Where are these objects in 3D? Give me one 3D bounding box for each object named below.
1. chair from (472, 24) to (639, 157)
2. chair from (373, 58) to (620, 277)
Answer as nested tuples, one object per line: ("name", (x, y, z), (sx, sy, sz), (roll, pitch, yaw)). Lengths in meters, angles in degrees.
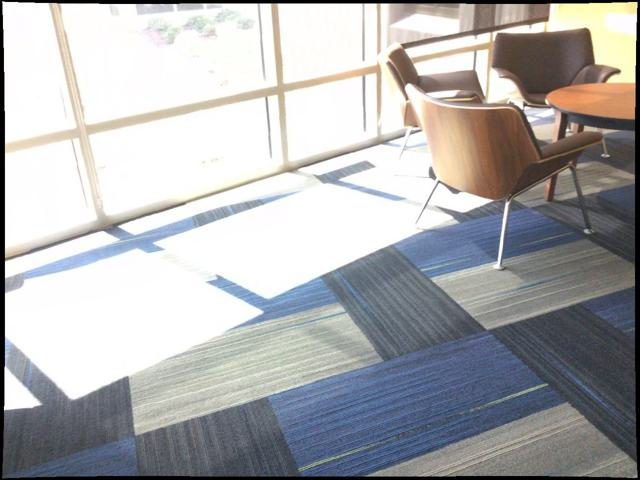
("chair", (1.666, -1.113, 4.230), (0.898, 0.741, 0.740), (-3, 28, 3))
("chair", (0.838, -0.431, 2.940), (0.759, 0.752, 0.850), (-19, 31, -26))
